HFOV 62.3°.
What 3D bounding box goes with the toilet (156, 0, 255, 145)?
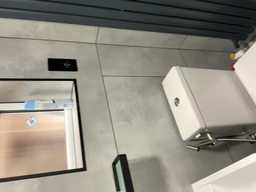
[{"bbox_3d":[0.690,-0.110,1.060,0.650,0.830,0.390,116,146,-50],"label":"toilet"}]
